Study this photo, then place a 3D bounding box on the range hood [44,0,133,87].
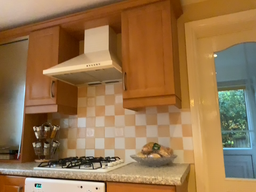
[{"bbox_3d":[-0.310,-0.420,1.830,0.560,0.550,0.490,-5,-10,19],"label":"range hood"}]
